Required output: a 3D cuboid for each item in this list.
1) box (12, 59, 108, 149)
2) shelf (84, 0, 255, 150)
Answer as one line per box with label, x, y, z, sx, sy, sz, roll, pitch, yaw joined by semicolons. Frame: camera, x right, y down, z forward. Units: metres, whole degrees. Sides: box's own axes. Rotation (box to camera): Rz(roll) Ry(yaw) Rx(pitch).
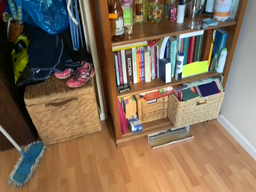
box;-0.470;0.060;1.590;0.550;0.510;0.270;-12;39;-13
shelf;0.230;-0.550;1.190;0.920;1.900;0.380;-11;39;-11
